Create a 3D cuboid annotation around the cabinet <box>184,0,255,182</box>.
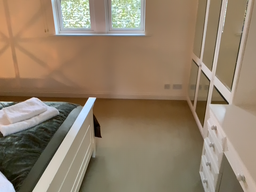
[{"bbox_3d":[1.010,-0.650,2.260,0.310,2.350,1.760,1,24,4],"label":"cabinet"}]
